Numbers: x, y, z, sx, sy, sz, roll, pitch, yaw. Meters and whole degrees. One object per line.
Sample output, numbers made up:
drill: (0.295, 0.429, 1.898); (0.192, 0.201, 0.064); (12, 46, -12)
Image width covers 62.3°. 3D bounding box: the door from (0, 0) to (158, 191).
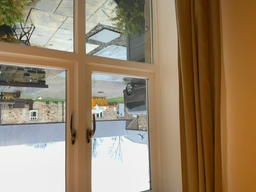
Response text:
door: (-0.330, -0.270, 1.350); (1.250, 1.910, 0.110); (2, 175, -37)
